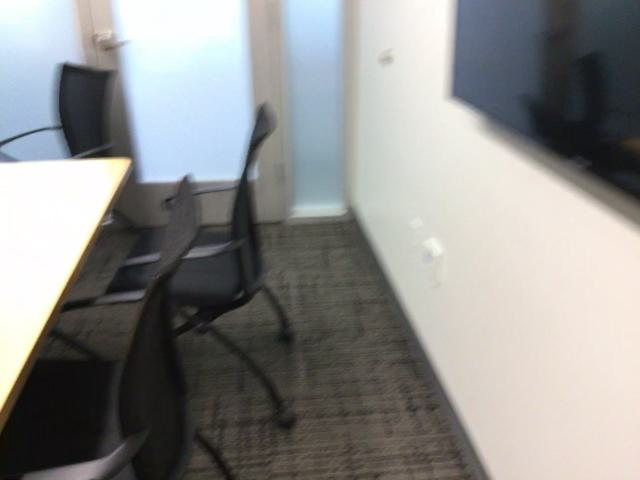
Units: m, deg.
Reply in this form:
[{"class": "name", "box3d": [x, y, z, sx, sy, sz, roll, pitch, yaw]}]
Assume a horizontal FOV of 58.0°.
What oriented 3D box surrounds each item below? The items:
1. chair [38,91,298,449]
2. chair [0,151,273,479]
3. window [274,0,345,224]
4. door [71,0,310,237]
[{"class": "chair", "box3d": [-0.390, 0.060, 1.790, 0.590, 0.930, 0.560, -2, 24, -7]}, {"class": "chair", "box3d": [-0.450, 0.340, 1.110, 0.690, 0.870, 0.610, -2, 24, -7]}, {"class": "window", "box3d": [-0.060, -0.720, 3.080, 0.340, 1.300, 0.140, -2, 24, -7]}, {"class": "door", "box3d": [-0.600, -0.680, 2.960, 1.060, 1.270, 0.300, -2, 24, -7]}]
